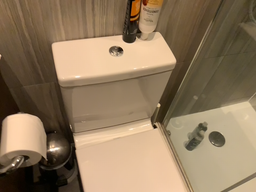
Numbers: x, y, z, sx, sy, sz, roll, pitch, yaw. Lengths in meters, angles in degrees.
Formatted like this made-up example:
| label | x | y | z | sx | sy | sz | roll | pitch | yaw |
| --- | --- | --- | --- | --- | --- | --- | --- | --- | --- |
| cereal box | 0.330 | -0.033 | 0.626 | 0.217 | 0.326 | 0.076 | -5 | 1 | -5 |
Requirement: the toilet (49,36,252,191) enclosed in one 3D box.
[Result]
| label | x | y | z | sx | sy | sz | roll | pitch | yaw |
| --- | --- | --- | --- | --- | --- | --- | --- | --- | --- |
| toilet | -0.020 | 0.290 | 0.910 | 0.410 | 0.780 | 0.650 | -11 | 55 | -15 |
